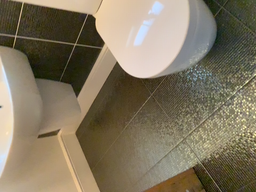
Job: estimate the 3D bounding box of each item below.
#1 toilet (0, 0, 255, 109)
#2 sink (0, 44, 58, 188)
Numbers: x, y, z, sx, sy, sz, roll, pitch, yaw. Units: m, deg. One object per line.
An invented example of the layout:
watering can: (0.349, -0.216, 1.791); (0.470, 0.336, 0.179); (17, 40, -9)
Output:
toilet: (0.000, -0.360, 0.840); (0.640, 0.810, 0.400); (56, 129, 28)
sink: (-0.640, 0.130, 1.160); (0.450, 0.170, 0.660); (56, 129, 28)
